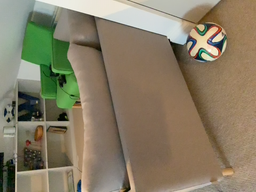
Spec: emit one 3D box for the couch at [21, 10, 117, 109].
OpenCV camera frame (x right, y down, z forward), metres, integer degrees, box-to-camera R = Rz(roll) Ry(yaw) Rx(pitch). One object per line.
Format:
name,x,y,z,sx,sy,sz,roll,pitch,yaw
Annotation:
couch,-0.700,-0.340,2.380,0.620,0.830,0.780,-41,54,49

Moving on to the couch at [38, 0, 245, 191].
couch,-0.130,-0.120,1.520,0.890,0.760,1.610,-43,52,47
